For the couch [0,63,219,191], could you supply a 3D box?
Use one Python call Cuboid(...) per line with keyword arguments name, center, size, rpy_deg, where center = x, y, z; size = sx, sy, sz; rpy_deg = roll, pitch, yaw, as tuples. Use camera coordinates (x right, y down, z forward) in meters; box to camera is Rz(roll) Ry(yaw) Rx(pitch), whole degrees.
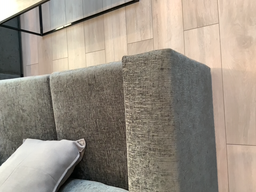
Cuboid(name="couch", center=(-0.430, 0.400, 1.230), size=(1.640, 0.850, 0.890), rpy_deg=(-3, 90, 32))
